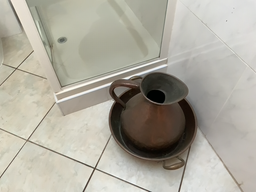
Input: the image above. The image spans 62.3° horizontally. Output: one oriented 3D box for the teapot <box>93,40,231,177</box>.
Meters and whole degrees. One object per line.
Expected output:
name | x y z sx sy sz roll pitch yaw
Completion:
teapot | 0.130 0.060 1.140 0.470 0.390 0.480 -18 56 -13
